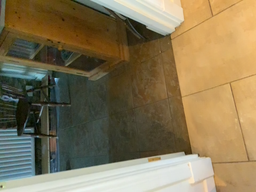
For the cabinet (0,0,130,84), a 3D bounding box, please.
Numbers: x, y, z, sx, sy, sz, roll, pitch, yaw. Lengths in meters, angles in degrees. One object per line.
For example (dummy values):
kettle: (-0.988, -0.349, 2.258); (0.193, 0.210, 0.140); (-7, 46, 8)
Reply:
cabinet: (-0.580, -0.430, 1.720); (0.670, 0.940, 0.380); (-22, 70, 44)
